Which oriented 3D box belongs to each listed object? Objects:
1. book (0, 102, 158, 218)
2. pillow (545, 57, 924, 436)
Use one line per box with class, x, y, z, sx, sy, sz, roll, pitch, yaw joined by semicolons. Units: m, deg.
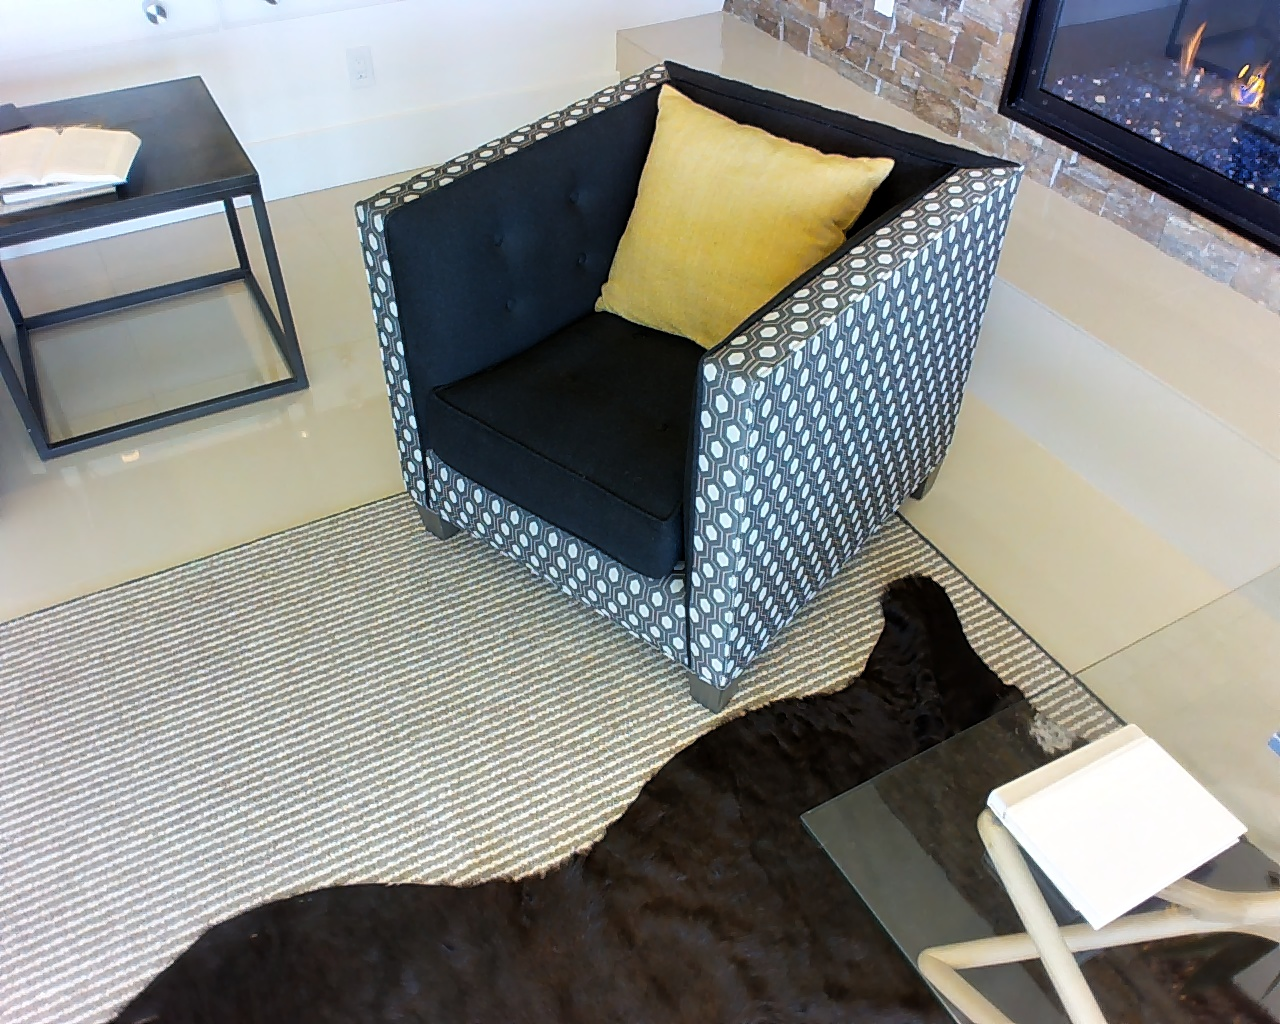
book;-1.210;-0.740;2.250;0.330;0.070;0.360;-8;43;-9
pillow;0.160;-0.480;1.990;0.510;0.460;0.180;41;22;19
